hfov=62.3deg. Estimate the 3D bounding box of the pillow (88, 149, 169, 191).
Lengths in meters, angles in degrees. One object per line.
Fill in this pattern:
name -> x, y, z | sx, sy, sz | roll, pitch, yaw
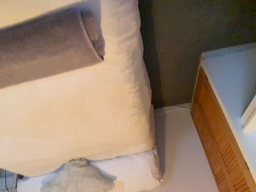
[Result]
pillow -> 0.000, 0.720, 1.890 | 0.630, 0.440, 0.170 | -12, 103, 1
